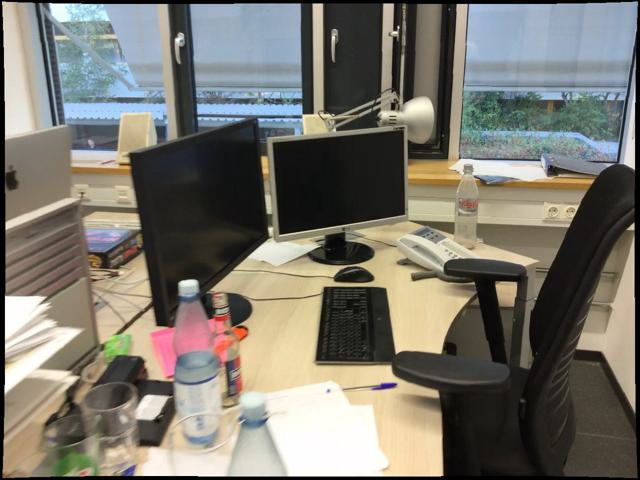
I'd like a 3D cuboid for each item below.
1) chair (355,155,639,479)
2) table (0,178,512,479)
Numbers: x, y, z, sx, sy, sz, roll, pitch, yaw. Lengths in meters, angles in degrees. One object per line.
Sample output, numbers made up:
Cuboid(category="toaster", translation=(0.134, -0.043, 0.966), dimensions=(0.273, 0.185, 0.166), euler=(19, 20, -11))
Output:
Cuboid(category="chair", translation=(0.450, 0.420, 1.420), dimensions=(0.589, 1.121, 0.730), euler=(3, 19, 13))
Cuboid(category="table", translation=(0.000, 0.501, 1.600), dimensions=(0.869, 0.851, 2.220), euler=(3, 19, 13))
